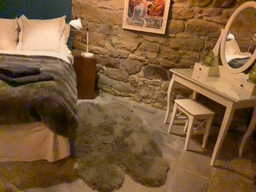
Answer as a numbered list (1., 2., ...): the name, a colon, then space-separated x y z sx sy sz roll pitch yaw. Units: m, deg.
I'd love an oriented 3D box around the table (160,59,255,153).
1. table: 0.910 0.040 2.520 0.490 0.750 0.960 -4 24 -27
